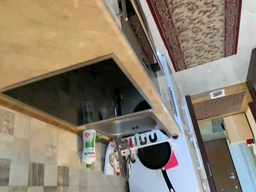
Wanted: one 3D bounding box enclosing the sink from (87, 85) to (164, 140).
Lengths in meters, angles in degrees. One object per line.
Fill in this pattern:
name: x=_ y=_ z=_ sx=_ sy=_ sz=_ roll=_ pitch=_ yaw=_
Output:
sink: x=0.000 y=0.140 z=1.480 sx=0.390 sy=0.180 sz=0.440 roll=-15 pitch=154 yaw=15
